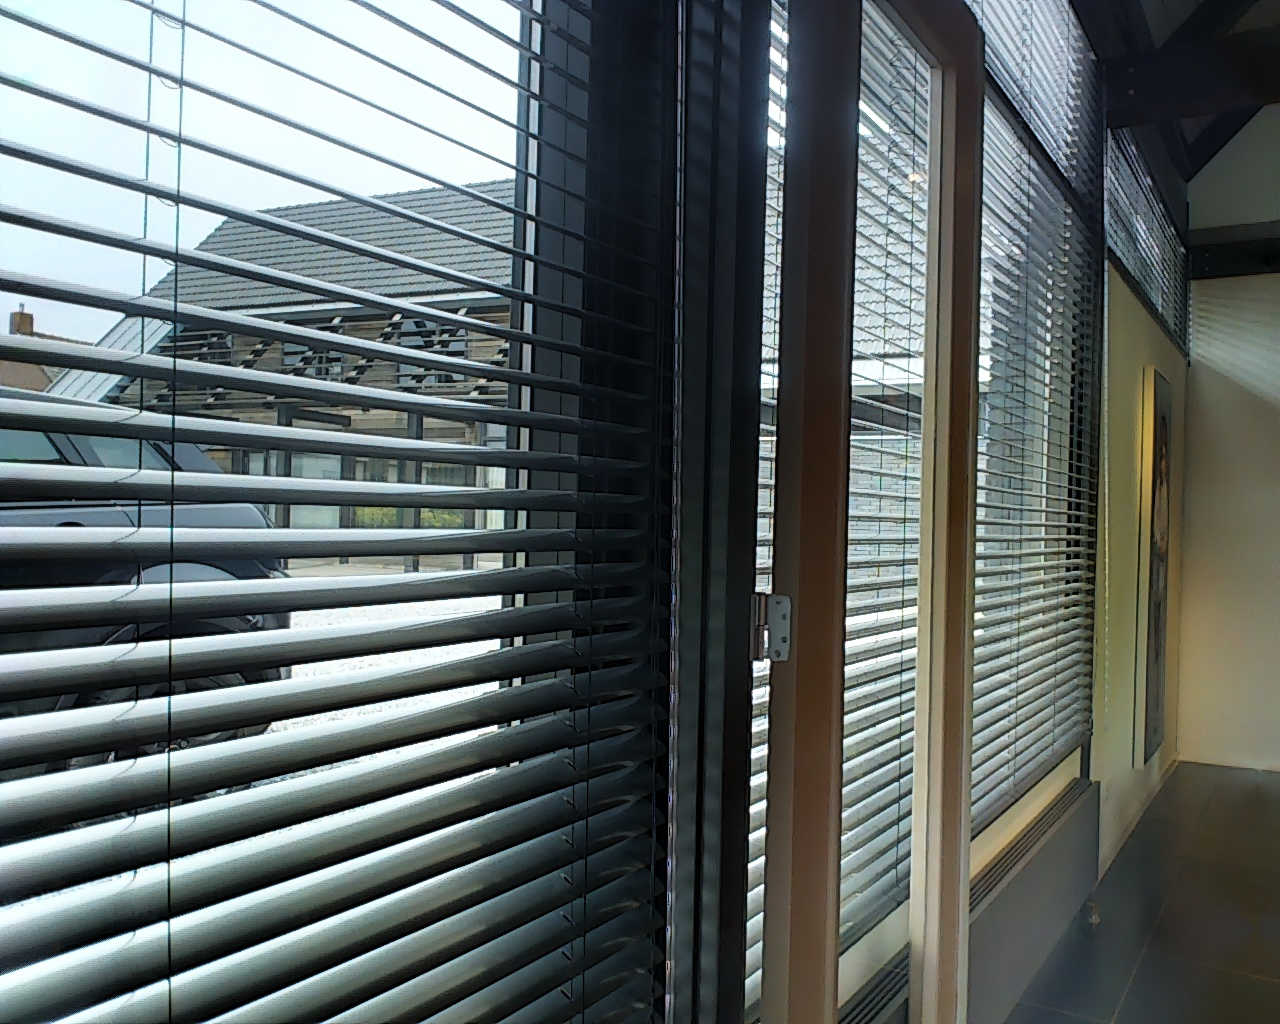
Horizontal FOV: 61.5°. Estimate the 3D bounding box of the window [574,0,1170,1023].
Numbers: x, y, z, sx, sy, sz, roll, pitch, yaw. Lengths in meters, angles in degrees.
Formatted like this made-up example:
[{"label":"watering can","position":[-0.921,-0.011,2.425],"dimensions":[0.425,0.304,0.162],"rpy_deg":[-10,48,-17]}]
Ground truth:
[{"label":"window","position":[0.940,-0.340,2.780],"dimensions":[0.310,3.381,3.180],"rpy_deg":[1,0,33]}]
